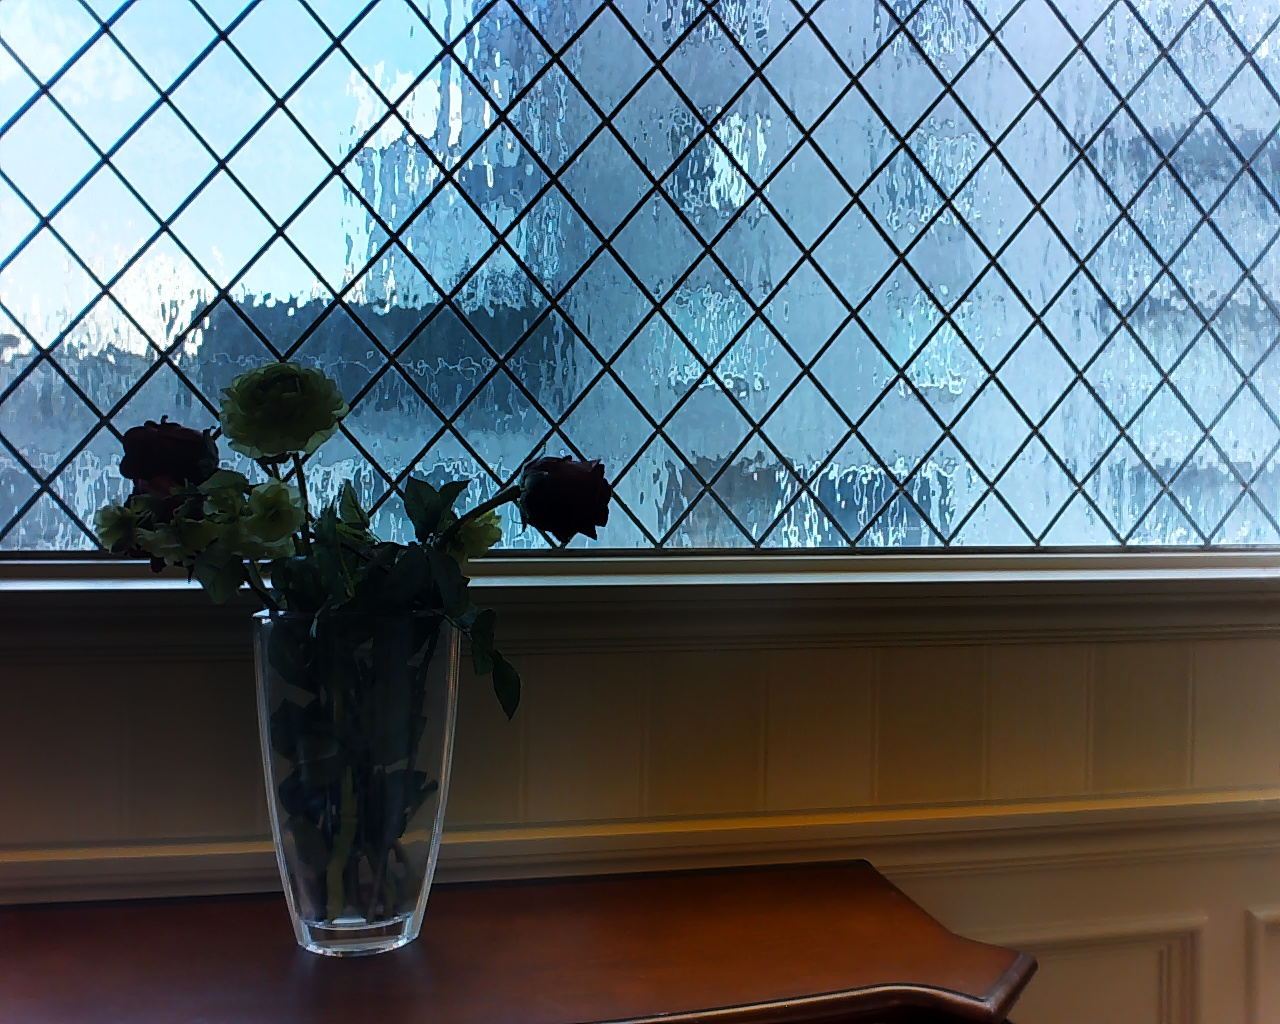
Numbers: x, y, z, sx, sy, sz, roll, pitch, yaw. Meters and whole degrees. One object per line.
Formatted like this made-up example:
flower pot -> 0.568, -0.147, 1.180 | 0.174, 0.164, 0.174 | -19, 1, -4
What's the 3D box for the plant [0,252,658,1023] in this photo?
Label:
plant -> -0.240, 0.100, 0.940 | 0.450, 0.550, 0.370 | 0, 1, -9
